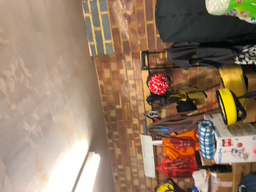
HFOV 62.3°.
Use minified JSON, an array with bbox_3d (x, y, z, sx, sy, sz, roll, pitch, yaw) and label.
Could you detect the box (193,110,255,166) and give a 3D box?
[{"bbox_3d":[0.850,0.350,1.840,0.390,0.470,0.290,-79,-17,-72],"label":"box"}]
